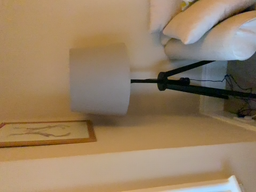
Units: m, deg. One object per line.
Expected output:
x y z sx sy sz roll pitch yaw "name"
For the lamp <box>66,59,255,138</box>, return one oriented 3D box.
0.290 -0.030 1.650 0.560 1.470 0.450 -149 59 -72 "lamp"
